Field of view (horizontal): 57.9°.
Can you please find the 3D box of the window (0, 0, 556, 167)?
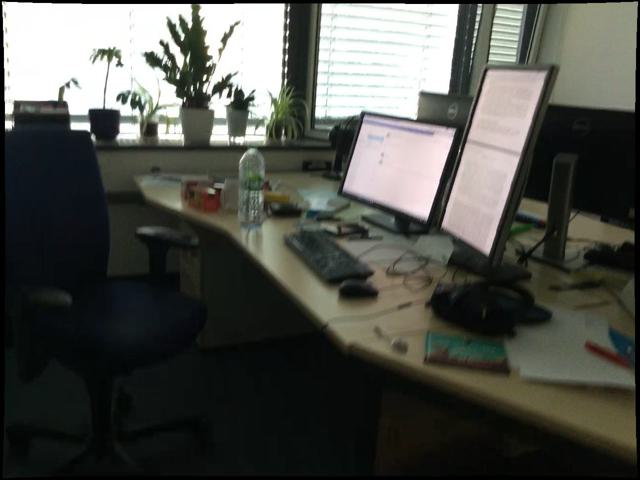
[{"bbox_3d":[-0.180,-1.532,3.280,3.557,2.012,0.410,-6,20,-21],"label":"window"}]
